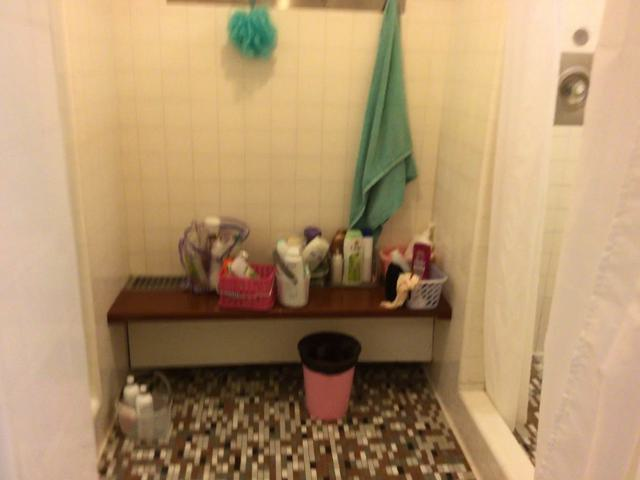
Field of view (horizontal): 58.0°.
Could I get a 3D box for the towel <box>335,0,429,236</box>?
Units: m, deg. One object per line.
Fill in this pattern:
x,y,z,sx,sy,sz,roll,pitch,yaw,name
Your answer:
0.240,-0.510,2.370,0.300,0.980,0.150,1,17,-6,towel
